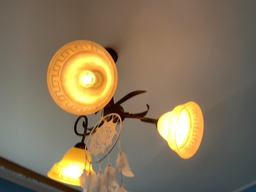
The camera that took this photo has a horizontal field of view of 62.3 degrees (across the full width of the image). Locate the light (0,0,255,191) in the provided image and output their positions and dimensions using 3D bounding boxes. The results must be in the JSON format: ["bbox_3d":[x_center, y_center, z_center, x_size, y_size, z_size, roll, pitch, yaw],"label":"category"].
[{"bbox_3d":[-0.120,0.070,0.790,0.940,0.560,0.650,8,38,-33],"label":"light"}]
